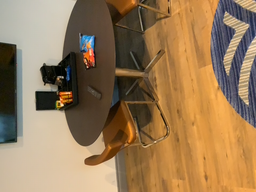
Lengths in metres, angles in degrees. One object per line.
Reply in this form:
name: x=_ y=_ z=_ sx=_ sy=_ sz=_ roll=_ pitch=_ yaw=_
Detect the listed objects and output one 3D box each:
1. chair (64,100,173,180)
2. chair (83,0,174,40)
chair: x=-0.100 y=0.390 z=1.980 sx=0.490 sy=0.770 sz=0.510 roll=-43 pitch=55 yaw=42
chair: x=0.000 y=-0.910 z=2.000 sx=0.510 sy=0.680 sz=0.480 roll=-9 pitch=80 yaw=52
